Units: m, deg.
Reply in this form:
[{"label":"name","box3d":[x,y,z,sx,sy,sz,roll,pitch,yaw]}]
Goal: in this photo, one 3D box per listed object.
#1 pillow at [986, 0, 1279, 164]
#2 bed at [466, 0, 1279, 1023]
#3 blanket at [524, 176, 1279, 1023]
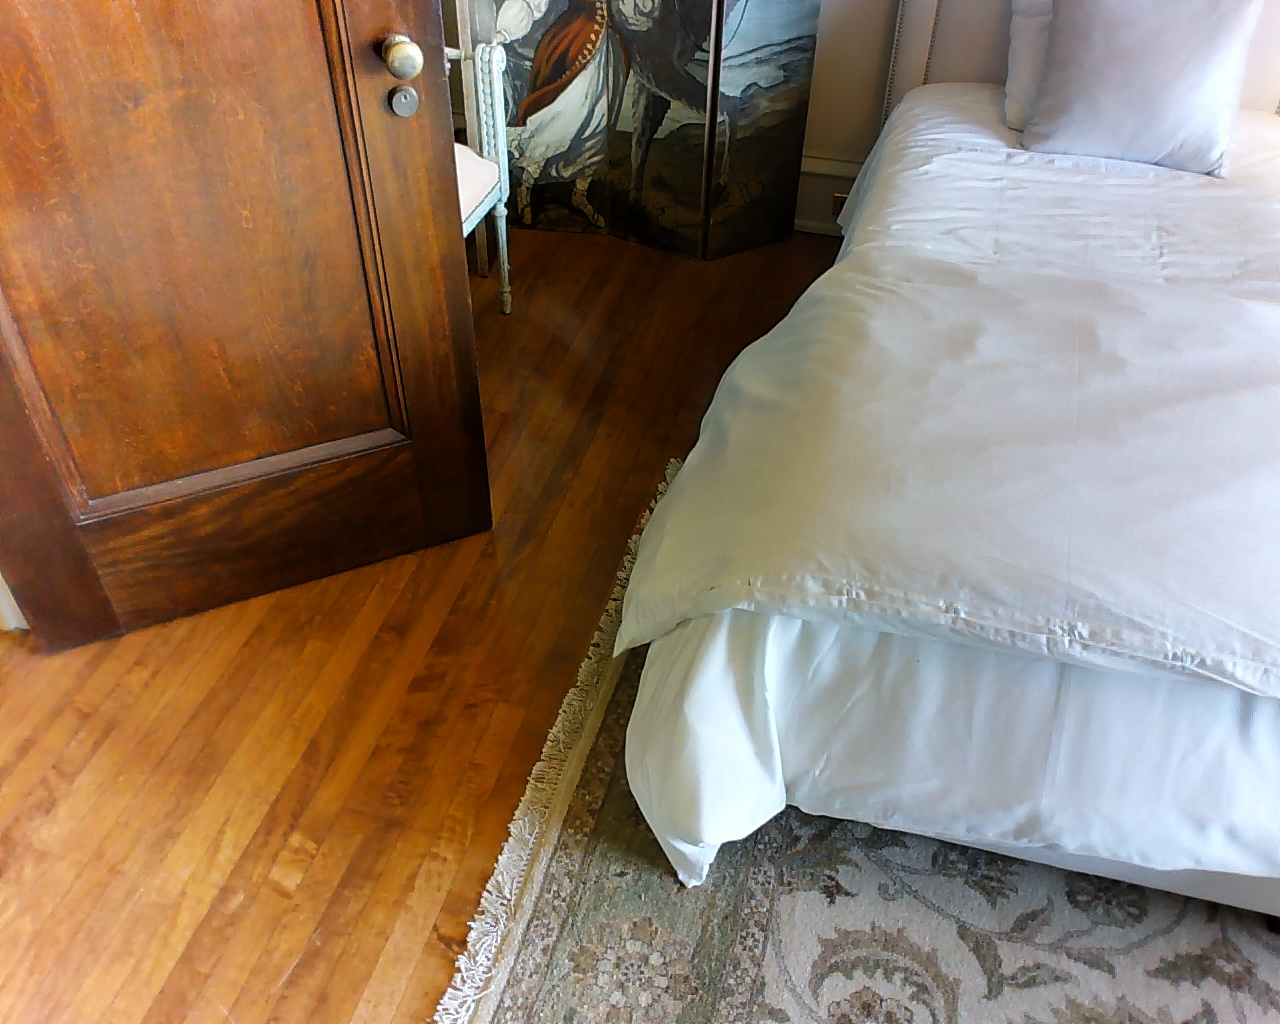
[{"label":"pillow","box3d":[1.170,-1.120,2.520,0.610,0.350,0.490,10,43,11]},{"label":"bed","box3d":[0.900,-0.580,1.980,1.530,1.410,2.360,10,43,11]},{"label":"blanket","box3d":[0.730,0.070,1.830,1.500,0.640,1.180,10,43,11]}]
